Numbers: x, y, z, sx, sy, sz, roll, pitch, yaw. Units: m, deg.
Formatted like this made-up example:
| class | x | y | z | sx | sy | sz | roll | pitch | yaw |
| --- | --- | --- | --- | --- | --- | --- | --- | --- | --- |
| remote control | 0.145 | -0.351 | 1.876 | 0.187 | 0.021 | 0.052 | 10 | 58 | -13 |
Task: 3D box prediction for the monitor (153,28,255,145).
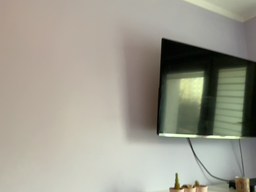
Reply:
| class | x | y | z | sx | sy | sz | roll | pitch | yaw |
| --- | --- | --- | --- | --- | --- | --- | --- | --- | --- |
| monitor | 0.600 | -0.010 | 1.330 | 0.950 | 0.530 | 0.060 | 15 | -16 | -23 |
